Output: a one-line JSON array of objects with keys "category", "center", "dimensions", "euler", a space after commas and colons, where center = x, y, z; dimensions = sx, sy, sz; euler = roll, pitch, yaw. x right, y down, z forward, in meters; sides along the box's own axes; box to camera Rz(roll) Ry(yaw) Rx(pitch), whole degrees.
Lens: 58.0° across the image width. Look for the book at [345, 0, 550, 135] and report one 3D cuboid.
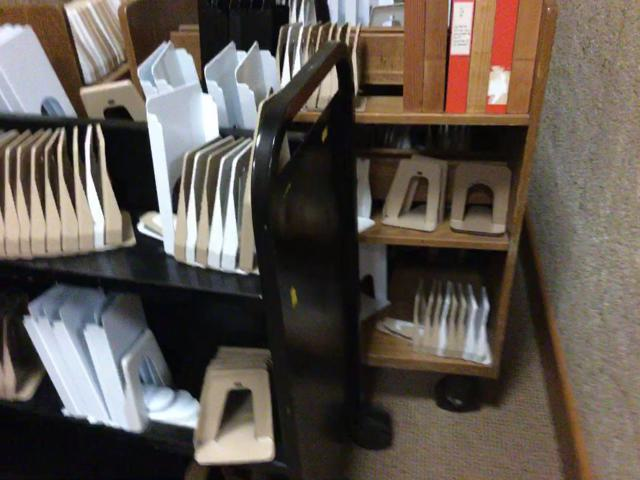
[{"category": "book", "center": [0.230, -0.330, 1.090], "dimensions": [0.340, 0.230, 0.110], "euler": [1, 34, 11]}]
